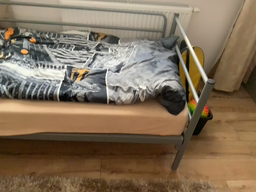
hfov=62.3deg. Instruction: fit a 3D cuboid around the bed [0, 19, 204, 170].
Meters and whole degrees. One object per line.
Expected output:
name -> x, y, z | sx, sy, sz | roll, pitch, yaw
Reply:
bed -> -0.740, -0.080, 1.520 | 2.170, 0.530, 0.990 | 2, 40, -4
